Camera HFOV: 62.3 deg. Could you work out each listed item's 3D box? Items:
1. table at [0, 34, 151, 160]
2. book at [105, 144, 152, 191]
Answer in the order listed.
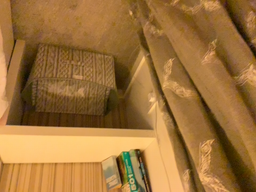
[{"bbox_3d":[-0.320,0.030,1.400,0.750,0.660,0.380,6,144,-19],"label":"table"},{"bbox_3d":[-0.010,0.480,1.290,0.180,0.290,0.260,6,144,-20],"label":"book"}]
